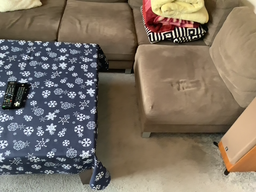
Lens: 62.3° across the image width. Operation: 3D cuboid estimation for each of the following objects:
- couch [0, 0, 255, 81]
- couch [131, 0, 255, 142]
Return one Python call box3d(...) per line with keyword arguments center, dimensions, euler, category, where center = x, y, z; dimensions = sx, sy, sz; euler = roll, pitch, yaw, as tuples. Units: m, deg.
box3d(center=(-0.630, -0.870, 2.060), dimensions=(3.130, 0.840, 1.130), euler=(0, 49, -8), category="couch")
box3d(center=(0.550, -0.160, 1.650), dimensions=(0.920, 0.800, 0.700), euler=(3, 48, -6), category="couch")
